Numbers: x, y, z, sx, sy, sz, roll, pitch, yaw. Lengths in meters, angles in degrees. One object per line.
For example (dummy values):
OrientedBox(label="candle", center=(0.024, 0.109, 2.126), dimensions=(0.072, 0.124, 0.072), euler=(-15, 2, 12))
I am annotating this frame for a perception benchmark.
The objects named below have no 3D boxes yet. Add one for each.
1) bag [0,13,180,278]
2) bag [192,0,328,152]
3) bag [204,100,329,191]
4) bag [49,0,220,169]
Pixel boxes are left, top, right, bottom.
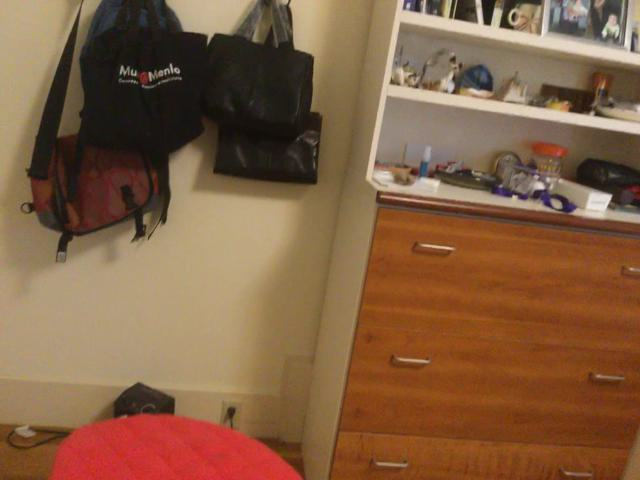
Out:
OrientedBox(label="bag", center=(-0.650, -0.250, 1.590), dimensions=(0.440, 0.630, 0.220), euler=(7, 15, -9))
OrientedBox(label="bag", center=(-0.170, -0.460, 1.600), dimensions=(0.310, 0.370, 0.190), euler=(7, 15, -9))
OrientedBox(label="bag", center=(-0.160, -0.280, 1.710), dimensions=(0.330, 0.210, 0.130), euler=(7, 15, -9))
OrientedBox(label="bag", center=(-0.480, -0.470, 1.540), dimensions=(0.370, 0.480, 0.240), euler=(7, 15, -9))
